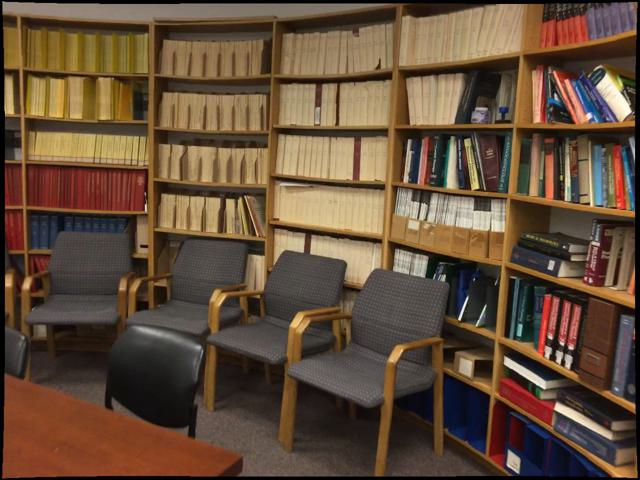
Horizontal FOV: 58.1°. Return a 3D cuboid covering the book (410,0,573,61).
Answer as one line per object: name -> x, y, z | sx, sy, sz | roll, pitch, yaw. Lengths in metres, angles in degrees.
book -> 0.818, -1.053, 2.830 | 0.300, 0.291, 0.699 | -7, 17, -38

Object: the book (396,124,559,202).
book -> 0.778, -0.411, 2.940 | 0.339, 0.301, 0.709 | -7, 17, -38

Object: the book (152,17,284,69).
book -> -0.658, -1.283, 3.770 | 0.768, 0.261, 0.360 | 6, 14, 11

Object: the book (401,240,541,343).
book -> 0.758, 0.241, 3.000 | 0.270, 0.321, 0.660 | -6, 16, -34

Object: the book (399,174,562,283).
book -> 0.768, -0.090, 2.890 | 0.299, 0.381, 0.740 | -5, 16, -32

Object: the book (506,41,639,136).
book -> 1.197, -0.571, 2.230 | 0.459, 0.311, 0.800 | -3, 15, -24

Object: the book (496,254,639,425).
book -> 1.157, 0.351, 2.370 | 0.389, 0.381, 0.800 | -1, 14, -20

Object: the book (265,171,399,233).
book -> 0.060, -0.241, 3.490 | 0.798, 0.261, 0.160 | 9, 14, 22

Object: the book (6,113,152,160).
book -> -1.586, -0.702, 3.870 | 0.798, 0.241, 0.430 | 3, 13, -4

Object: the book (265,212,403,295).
book -> 0.070, 0.060, 3.580 | 0.799, 0.311, 0.340 | 14, 17, 36

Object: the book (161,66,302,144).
book -> -0.588, -0.892, 3.800 | 0.868, 0.431, 0.290 | 7, 14, 15

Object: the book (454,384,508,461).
book -> 0.798, 0.902, 2.870 | 0.130, 0.291, 0.190 | -5, 16, -33

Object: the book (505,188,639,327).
book -> 1.187, 0.030, 2.300 | 0.459, 0.361, 0.740 | -1, 14, -20

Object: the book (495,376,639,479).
book -> 1.107, 0.983, 2.350 | 0.329, 0.531, 0.740 | -2, 14, -20

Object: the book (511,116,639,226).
book -> 1.177, -0.301, 2.320 | 0.359, 0.341, 0.770 | -1, 14, -17

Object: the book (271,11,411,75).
book -> 0.110, -1.153, 3.390 | 0.769, 0.311, 0.260 | 11, 15, 28
